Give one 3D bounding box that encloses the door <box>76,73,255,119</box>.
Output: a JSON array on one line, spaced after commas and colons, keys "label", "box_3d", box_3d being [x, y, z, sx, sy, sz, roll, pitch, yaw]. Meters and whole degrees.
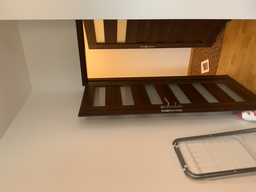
[{"label": "door", "box_3d": [0.520, -0.050, 2.570, 0.870, 2.140, 0.160, -103, 13, -66]}]
